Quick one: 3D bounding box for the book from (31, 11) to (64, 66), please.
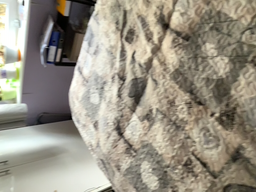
[{"bbox_3d":[-0.770,-0.530,2.000,0.270,0.160,0.410,50,130,36],"label":"book"}]
